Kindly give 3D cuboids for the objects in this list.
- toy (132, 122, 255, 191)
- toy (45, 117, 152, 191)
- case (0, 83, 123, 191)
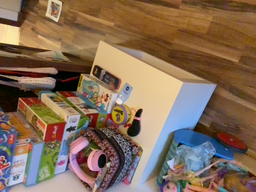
[{"bbox_3d":[0.450,0.450,0.910,0.650,0.500,0.330,34,112,35],"label":"toy"},{"bbox_3d":[-0.120,0.270,0.890,0.220,0.310,0.260,36,113,35],"label":"toy"},{"bbox_3d":[-0.430,0.140,0.860,0.310,0.770,0.280,34,112,35],"label":"case"}]
